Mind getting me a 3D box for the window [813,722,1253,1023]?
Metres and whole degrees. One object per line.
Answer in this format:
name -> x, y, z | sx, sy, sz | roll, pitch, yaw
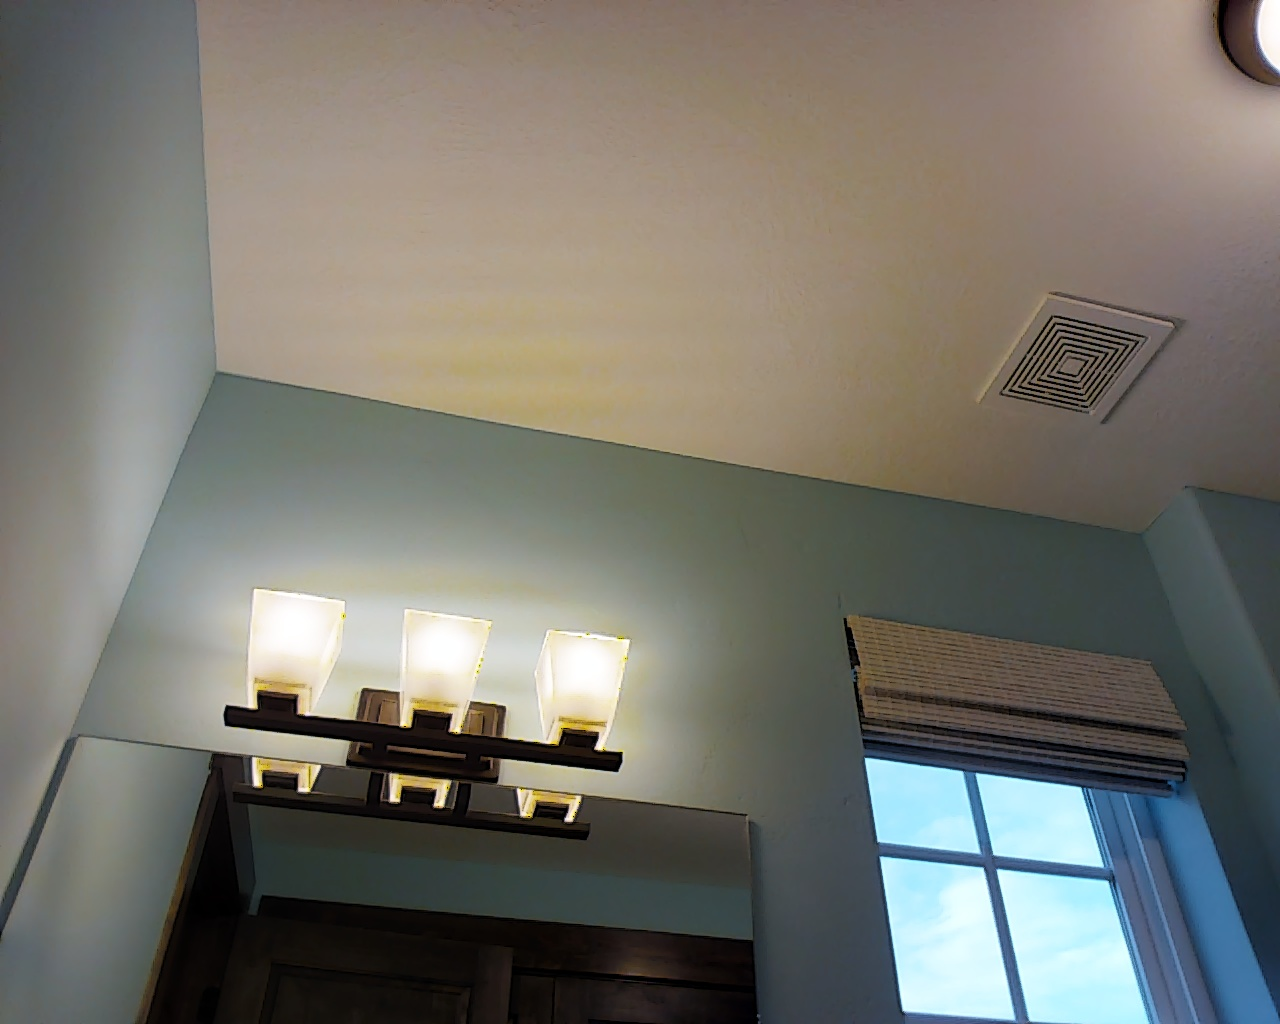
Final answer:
window -> 0.580, 0.820, 1.480 | 0.550, 1.020, 0.190 | 9, -43, -9
